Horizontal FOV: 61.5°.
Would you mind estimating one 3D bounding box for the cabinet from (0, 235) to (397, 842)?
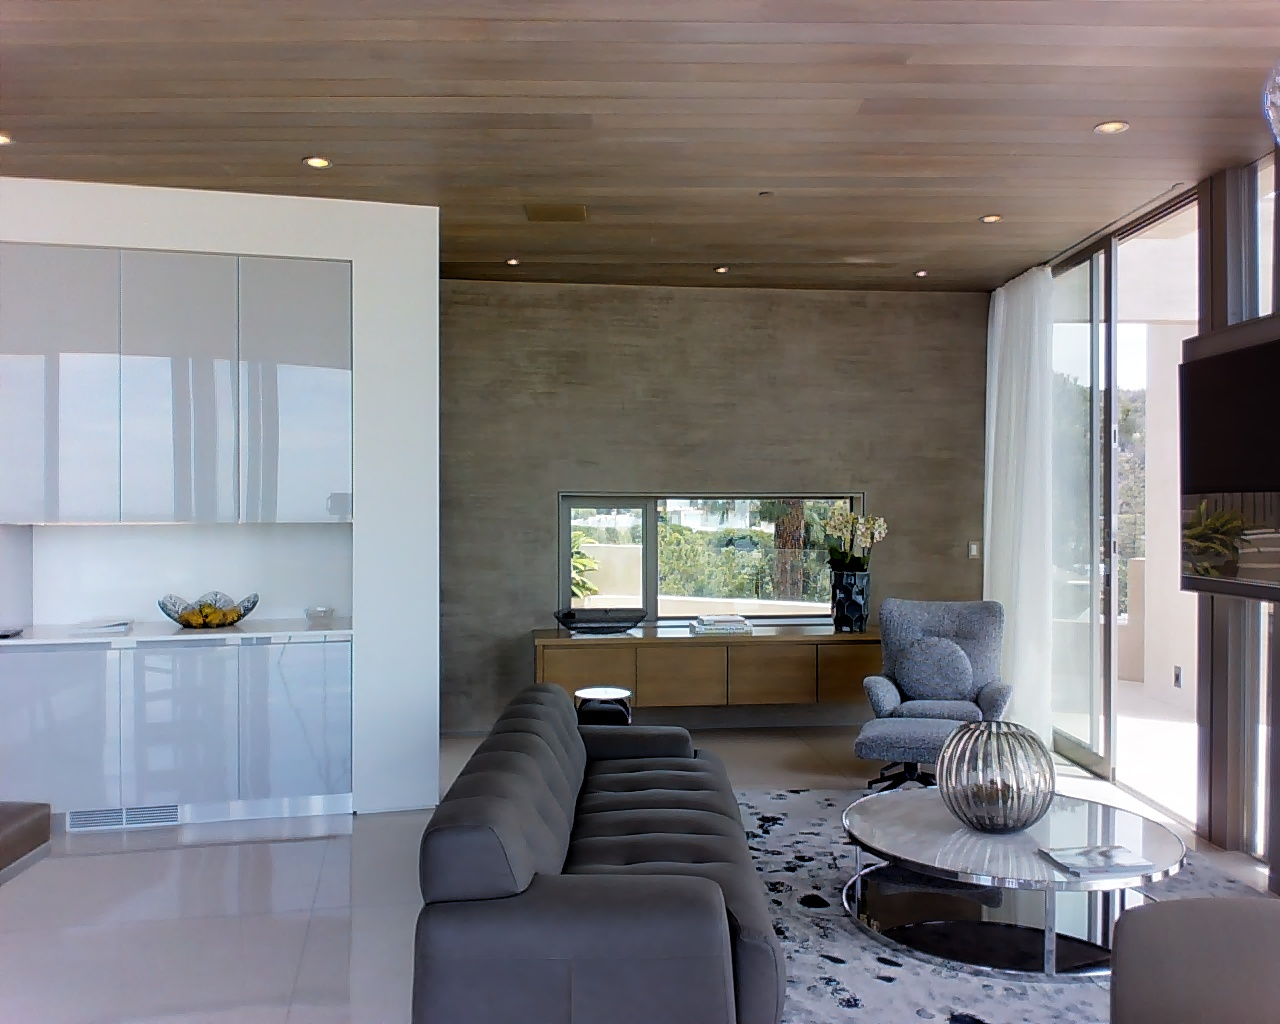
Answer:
[{"bbox_3d":[-2.660,0.120,5.320,2.820,2.770,0.650,0,0,-16],"label":"cabinet"}]
